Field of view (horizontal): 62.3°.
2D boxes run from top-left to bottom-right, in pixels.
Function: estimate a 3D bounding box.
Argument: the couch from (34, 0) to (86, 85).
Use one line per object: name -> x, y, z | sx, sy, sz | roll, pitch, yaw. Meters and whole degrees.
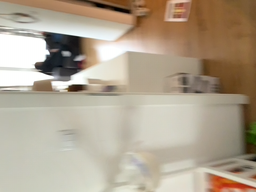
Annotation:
couch -> -1.680, -1.240, 5.190 | 0.740, 1.060, 1.820 | -11, 81, 60
